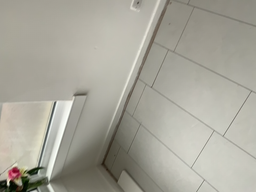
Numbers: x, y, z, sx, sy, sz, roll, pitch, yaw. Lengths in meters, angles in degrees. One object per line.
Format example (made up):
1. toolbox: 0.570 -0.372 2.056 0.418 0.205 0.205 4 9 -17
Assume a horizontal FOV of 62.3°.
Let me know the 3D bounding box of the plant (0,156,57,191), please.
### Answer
1. plant: -0.830 0.730 1.630 0.330 0.400 0.350 -37 67 38
